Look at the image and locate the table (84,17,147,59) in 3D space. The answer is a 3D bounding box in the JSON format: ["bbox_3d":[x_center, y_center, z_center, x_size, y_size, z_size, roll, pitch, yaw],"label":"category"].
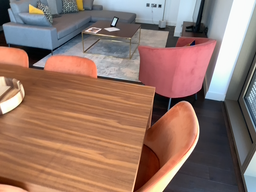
[{"bbox_3d":[-0.200,-1.150,4.070,0.940,0.410,0.930,11,33,12],"label":"table"}]

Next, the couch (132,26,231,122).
[{"bbox_3d":[0.580,-0.310,2.550,0.760,0.790,0.710,-18,38,-29],"label":"couch"}]
